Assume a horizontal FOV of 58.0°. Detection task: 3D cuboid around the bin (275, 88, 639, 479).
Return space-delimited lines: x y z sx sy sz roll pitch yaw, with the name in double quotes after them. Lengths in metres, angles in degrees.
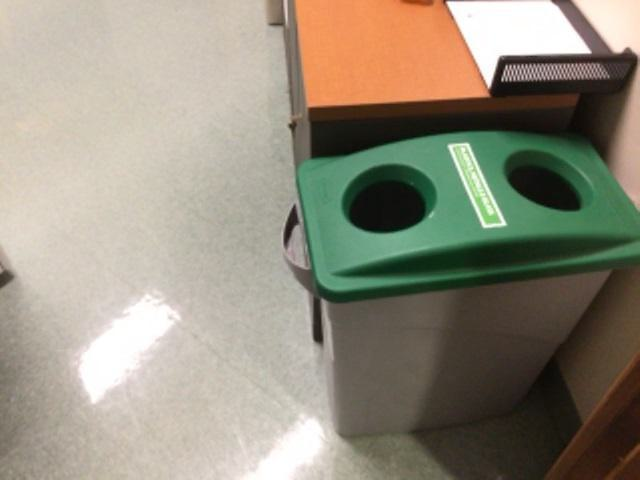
0.220 0.140 1.080 0.520 0.700 0.350 -6 50 -2 "bin"
